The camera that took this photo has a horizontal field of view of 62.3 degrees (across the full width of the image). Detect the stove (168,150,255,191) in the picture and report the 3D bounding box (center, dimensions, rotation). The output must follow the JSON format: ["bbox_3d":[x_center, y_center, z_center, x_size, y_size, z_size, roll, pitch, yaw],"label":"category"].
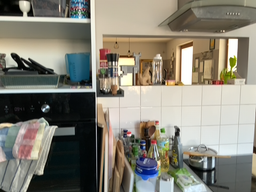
[{"bbox_3d":[0.640,0.480,1.360,0.610,0.030,0.540,-1,7,-8],"label":"stove"}]
